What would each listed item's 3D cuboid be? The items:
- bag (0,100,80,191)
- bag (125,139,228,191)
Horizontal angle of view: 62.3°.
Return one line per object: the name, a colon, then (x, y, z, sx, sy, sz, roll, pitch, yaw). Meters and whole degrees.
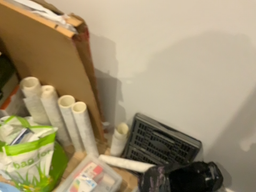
bag: (-0.550, 0.320, 1.240, 0.380, 0.400, 0.300, 21, 53, 12)
bag: (0.200, 0.440, 0.980, 0.370, 0.280, 0.250, 21, 53, 12)
